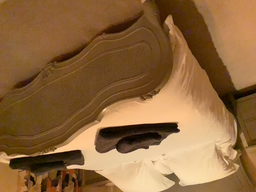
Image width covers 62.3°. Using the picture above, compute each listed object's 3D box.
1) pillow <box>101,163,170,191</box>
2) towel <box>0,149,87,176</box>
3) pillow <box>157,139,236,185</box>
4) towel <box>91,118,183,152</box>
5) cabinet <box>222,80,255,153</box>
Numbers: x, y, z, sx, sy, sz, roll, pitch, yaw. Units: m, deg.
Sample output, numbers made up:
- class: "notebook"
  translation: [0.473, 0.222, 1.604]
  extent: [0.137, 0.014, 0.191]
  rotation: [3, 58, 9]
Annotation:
- class: "pillow"
  translation: [0.100, 1.010, 2.540]
  extent: [0.570, 0.250, 0.600]
  rotation: [-23, 150, 27]
- class: "towel"
  translation: [-0.640, 0.540, 1.700]
  extent: [0.590, 0.090, 0.330]
  rotation: [-3, 153, -10]
- class: "pillow"
  translation: [0.750, 0.740, 2.260]
  extent: [0.610, 0.300, 0.680]
  rotation: [-21, 150, 23]
- class: "towel"
  translation: [0.040, 0.270, 1.430]
  extent: [0.520, 0.090, 0.390]
  rotation: [1, 152, -17]
- class: "cabinet"
  translation: [1.430, 0.220, 2.340]
  extent: [0.480, 0.660, 0.390]
  rotation: [-23, 150, 27]
